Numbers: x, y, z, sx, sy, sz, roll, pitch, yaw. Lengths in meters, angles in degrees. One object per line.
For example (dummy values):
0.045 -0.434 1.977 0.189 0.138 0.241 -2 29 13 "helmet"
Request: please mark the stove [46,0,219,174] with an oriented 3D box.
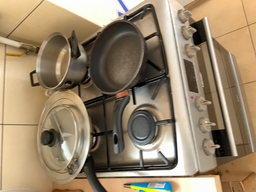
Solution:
-0.060 0.010 0.760 0.610 0.150 0.490 -17 73 38 "stove"
